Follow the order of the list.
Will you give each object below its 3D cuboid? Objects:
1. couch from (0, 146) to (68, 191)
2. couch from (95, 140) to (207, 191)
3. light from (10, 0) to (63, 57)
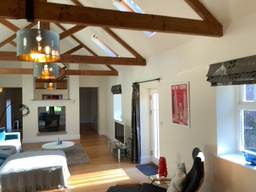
[{"bbox_3d":[-1.960,1.500,4.370,1.280,0.530,1.420,-1,0,-21],"label":"couch"},{"bbox_3d":[0.300,1.170,2.840,1.300,0.970,0.710,-1,0,9],"label":"couch"},{"bbox_3d":[-1.310,-1.540,3.120,0.630,1.810,0.560,-1,0,-15],"label":"light"}]
